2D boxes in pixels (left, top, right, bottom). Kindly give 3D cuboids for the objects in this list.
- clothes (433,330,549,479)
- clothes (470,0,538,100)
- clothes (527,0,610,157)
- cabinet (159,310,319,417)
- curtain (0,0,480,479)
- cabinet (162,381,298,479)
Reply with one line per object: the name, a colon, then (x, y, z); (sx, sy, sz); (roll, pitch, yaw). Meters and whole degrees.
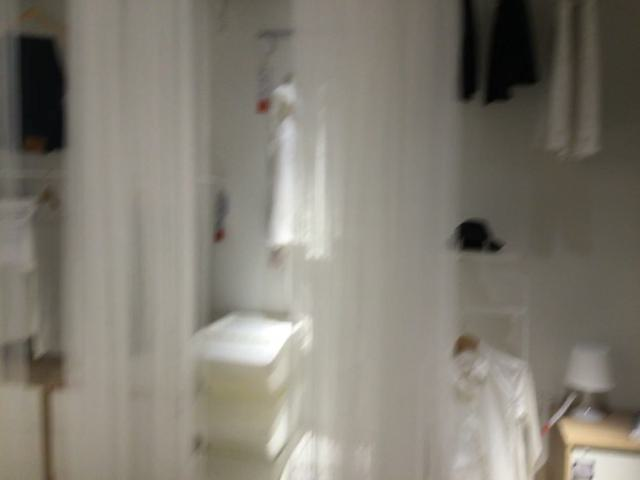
clothes: (0.650, 0.820, 2.260); (0.390, 0.870, 0.210); (3, 3, 14)
clothes: (0.700, -0.840, 2.220); (0.210, 0.520, 0.390); (3, 3, 14)
clothes: (0.920, -0.640, 2.170); (0.200, 0.610, 0.400); (3, 3, 14)
cabinet: (-0.320, 0.500, 2.480); (0.500, 0.280, 0.550); (3, 3, 14)
curtain: (-0.730, 0.110, 2.060); (2.420, 2.470, 0.190); (3, 3, 14)
cabinet: (-0.360, 0.770, 2.330); (0.490, 0.300, 0.210); (3, 3, 14)
